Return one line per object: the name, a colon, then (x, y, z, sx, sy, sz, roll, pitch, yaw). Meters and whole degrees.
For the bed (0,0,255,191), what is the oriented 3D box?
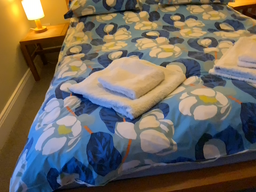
bed: (0.310, -0.290, 1.740, 1.760, 0.530, 2.240, -9, 36, -3)
